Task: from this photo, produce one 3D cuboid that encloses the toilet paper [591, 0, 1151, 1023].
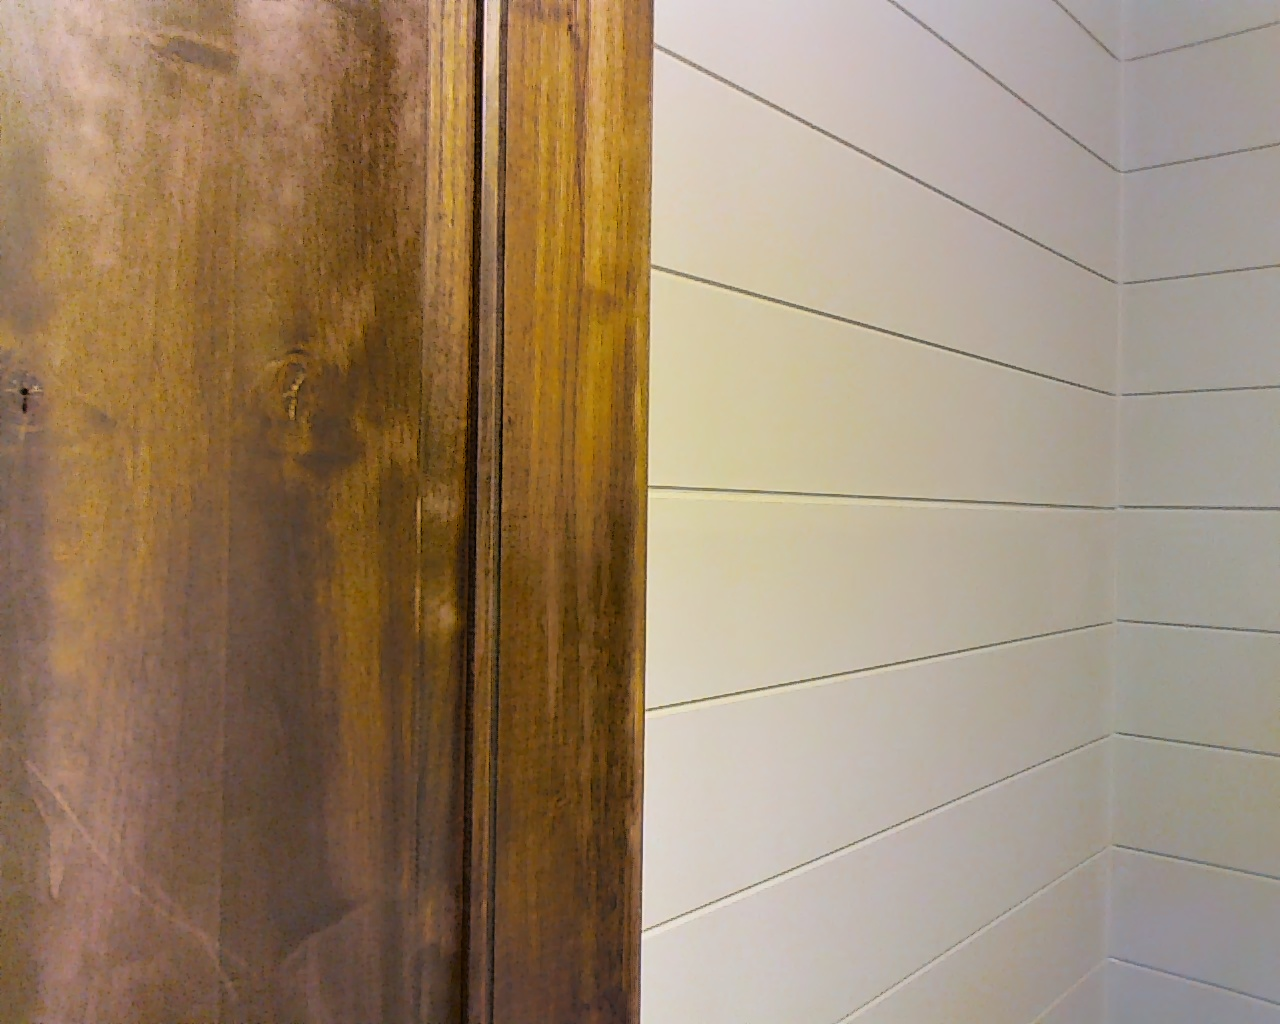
[{"bbox_3d":[0.320,0.090,1.080,0.040,2.590,1.000,2,0,41],"label":"toilet paper"}]
